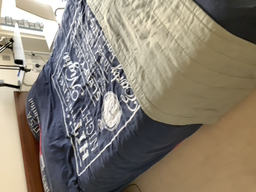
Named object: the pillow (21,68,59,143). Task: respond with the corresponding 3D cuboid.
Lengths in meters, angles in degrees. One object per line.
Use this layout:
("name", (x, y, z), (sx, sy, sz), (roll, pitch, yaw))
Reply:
("pillow", (-0.910, 0.090, 2.140), (0.390, 0.190, 0.630), (-54, 50, 39))

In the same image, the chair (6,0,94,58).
("chair", (-0.930, -0.820, 2.530), (0.530, 0.850, 0.360), (-58, 47, 35))

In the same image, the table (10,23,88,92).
("table", (-1.050, -0.480, 2.780), (0.380, 0.760, 0.800), (-55, 49, 37))
